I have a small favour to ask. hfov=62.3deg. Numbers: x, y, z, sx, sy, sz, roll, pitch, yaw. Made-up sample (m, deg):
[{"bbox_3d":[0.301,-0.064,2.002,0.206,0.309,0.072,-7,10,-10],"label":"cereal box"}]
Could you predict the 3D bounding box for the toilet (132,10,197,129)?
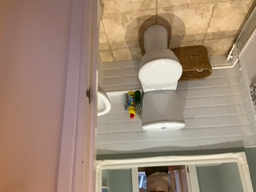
[{"bbox_3d":[0.270,-0.190,1.900,0.390,0.790,0.680,-4,157,2],"label":"toilet"}]
